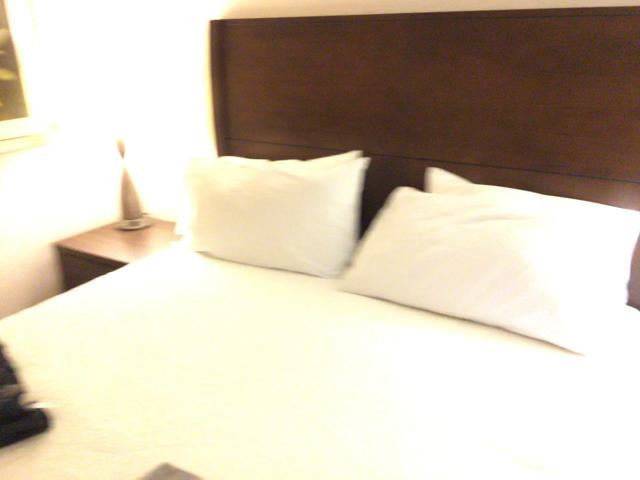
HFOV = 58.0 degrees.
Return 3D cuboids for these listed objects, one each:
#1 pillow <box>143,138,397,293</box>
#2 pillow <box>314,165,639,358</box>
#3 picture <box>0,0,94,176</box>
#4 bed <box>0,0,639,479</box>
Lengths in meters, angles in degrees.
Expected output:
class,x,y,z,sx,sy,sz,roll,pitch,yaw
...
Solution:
class,x,y,z,sx,sy,sz,roll,pitch,yaw
pillow,-0.190,-0.140,2.210,0.820,0.410,0.460,8,23,35
pillow,0.470,0.010,1.820,0.860,0.370,0.430,8,23,35
picture,-1.360,-0.640,2.380,0.250,0.700,0.640,8,23,35
bed,-0.050,0.040,1.550,2.020,1.380,1.730,8,23,35
